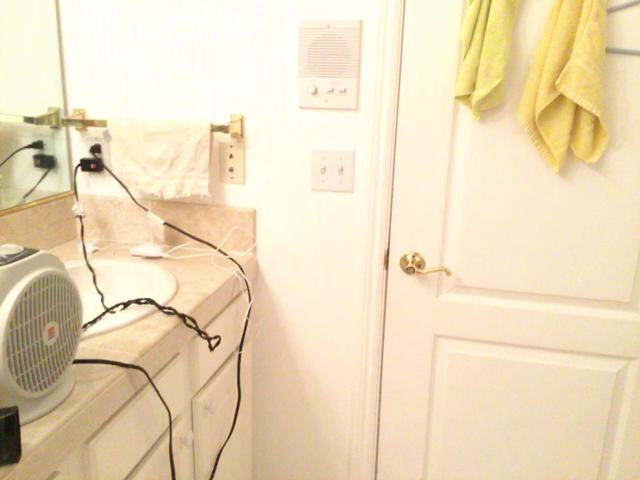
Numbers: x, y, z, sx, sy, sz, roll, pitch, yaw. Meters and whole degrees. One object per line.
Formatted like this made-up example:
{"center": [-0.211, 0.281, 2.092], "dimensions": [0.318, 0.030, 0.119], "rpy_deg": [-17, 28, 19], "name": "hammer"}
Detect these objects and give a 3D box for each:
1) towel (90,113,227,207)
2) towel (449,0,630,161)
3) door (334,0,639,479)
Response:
{"center": [-0.420, -0.210, 1.520], "dimensions": [0.320, 0.230, 0.090], "rpy_deg": [2, 15, 13], "name": "towel"}
{"center": [0.460, -0.340, 1.260], "dimensions": [0.340, 0.320, 0.100], "rpy_deg": [2, 15, 13], "name": "towel"}
{"center": [0.520, 0.220, 1.430], "dimensions": [0.830, 1.530, 0.060], "rpy_deg": [-3, 14, 14], "name": "door"}
